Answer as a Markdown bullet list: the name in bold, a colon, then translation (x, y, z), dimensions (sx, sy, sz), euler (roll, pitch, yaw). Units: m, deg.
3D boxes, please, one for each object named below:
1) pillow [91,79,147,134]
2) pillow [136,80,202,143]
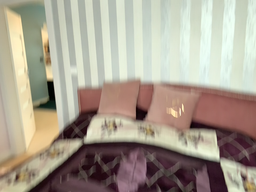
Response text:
- **pillow**: translation (-0.070, 0.090, 2.050), dimensions (0.430, 0.500, 0.160), euler (0, -31, 20)
- **pillow**: translation (0.380, 0.120, 1.870), dimensions (0.520, 0.520, 0.140), euler (0, -30, 19)
